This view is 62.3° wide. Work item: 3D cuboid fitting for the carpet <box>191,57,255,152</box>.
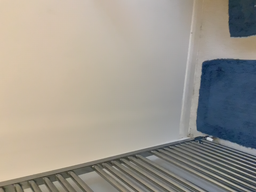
[{"bbox_3d":[0.730,0.050,1.150,0.830,0.040,0.520,10,99,51],"label":"carpet"}]
